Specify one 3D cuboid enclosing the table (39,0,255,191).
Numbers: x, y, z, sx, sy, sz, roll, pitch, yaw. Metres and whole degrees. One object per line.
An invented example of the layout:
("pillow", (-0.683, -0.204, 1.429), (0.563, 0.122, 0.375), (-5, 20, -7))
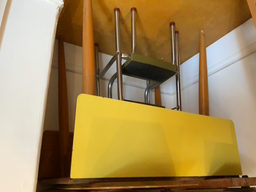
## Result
("table", (0.090, 0.020, 1.000), (0.810, 0.750, 0.500), (9, 155, -28))
